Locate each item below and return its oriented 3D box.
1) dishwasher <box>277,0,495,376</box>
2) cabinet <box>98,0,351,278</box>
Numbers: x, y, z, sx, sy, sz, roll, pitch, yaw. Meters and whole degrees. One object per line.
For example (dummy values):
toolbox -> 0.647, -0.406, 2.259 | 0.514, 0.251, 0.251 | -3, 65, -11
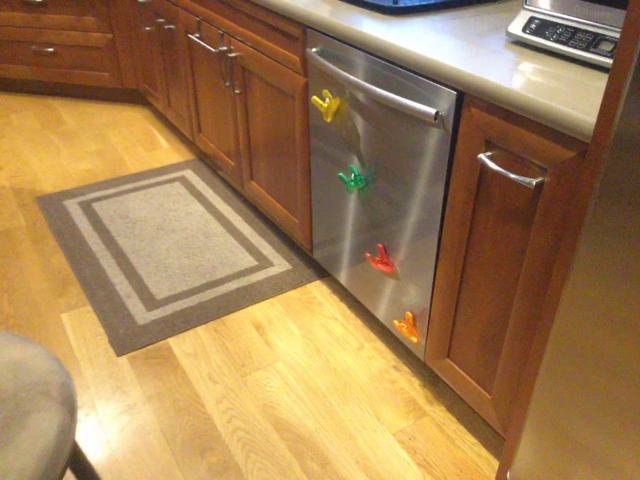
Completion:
dishwasher -> 0.100, -0.140, 1.550 | 0.120, 0.810, 0.620 | -19, 41, -29
cabinet -> -0.520, -0.690, 2.300 | 0.140, 0.800, 1.860 | -19, 41, -29
